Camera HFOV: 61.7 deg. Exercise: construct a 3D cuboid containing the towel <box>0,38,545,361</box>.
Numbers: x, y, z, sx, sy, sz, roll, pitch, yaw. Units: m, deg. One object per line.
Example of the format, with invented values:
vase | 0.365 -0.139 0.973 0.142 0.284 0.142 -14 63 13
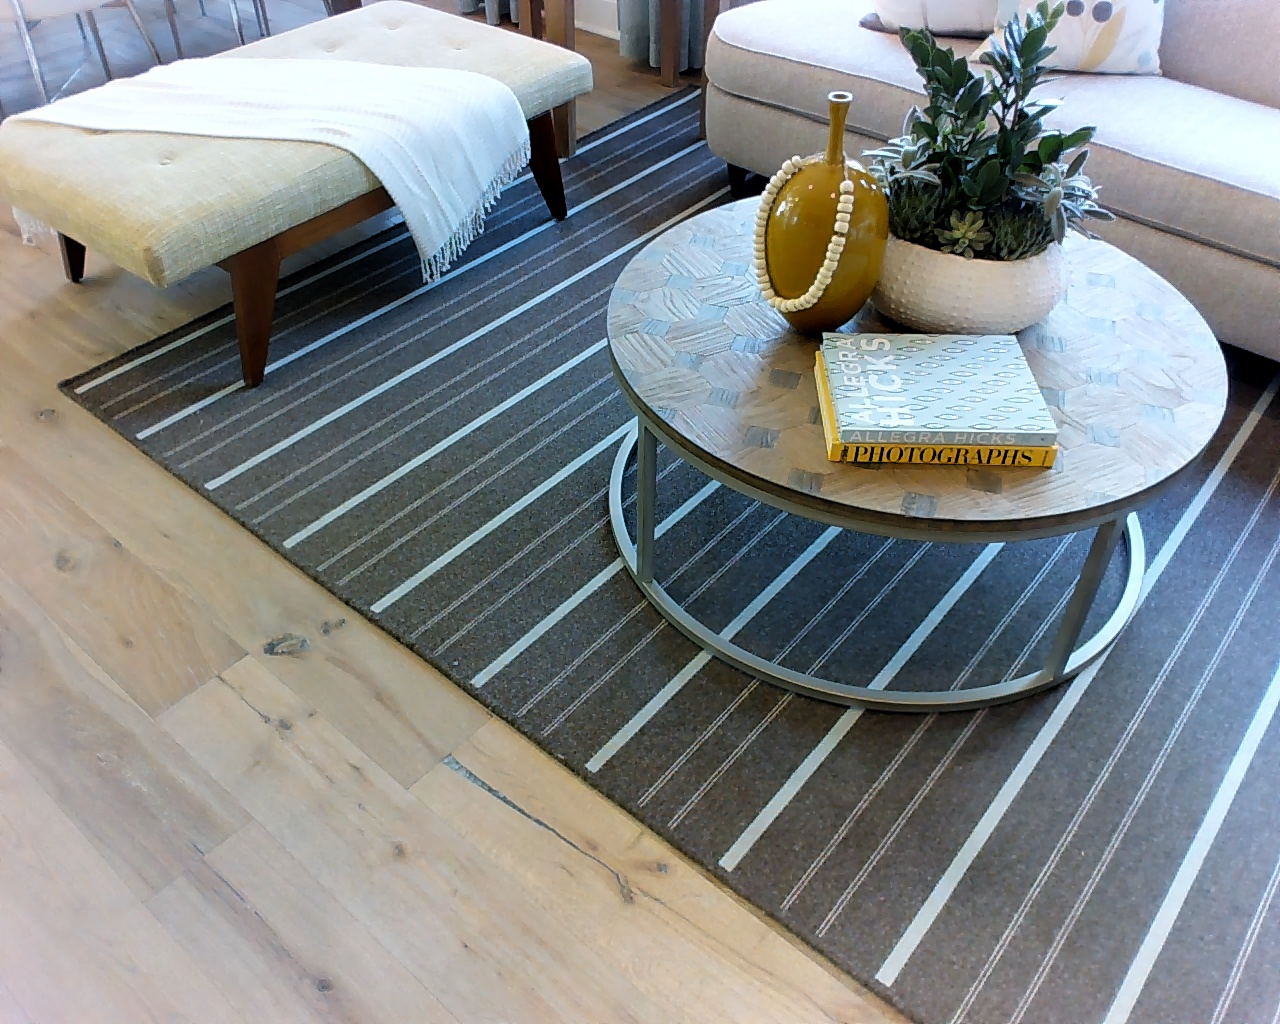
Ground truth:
towel | -0.940 -0.840 2.820 1.250 0.520 0.520 9 43 10
